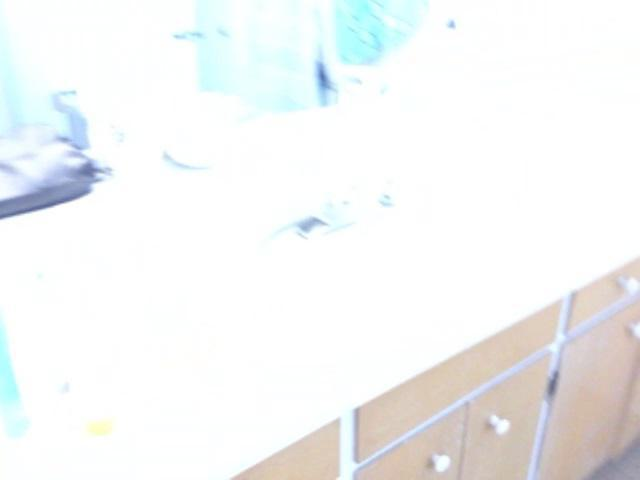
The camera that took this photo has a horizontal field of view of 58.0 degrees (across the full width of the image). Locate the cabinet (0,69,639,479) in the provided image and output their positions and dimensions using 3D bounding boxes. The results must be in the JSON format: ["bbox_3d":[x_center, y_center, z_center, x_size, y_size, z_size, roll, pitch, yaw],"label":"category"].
[{"bbox_3d":[0.090,0.330,1.190,2.050,1.030,0.550,-18,29,-31],"label":"cabinet"}]
